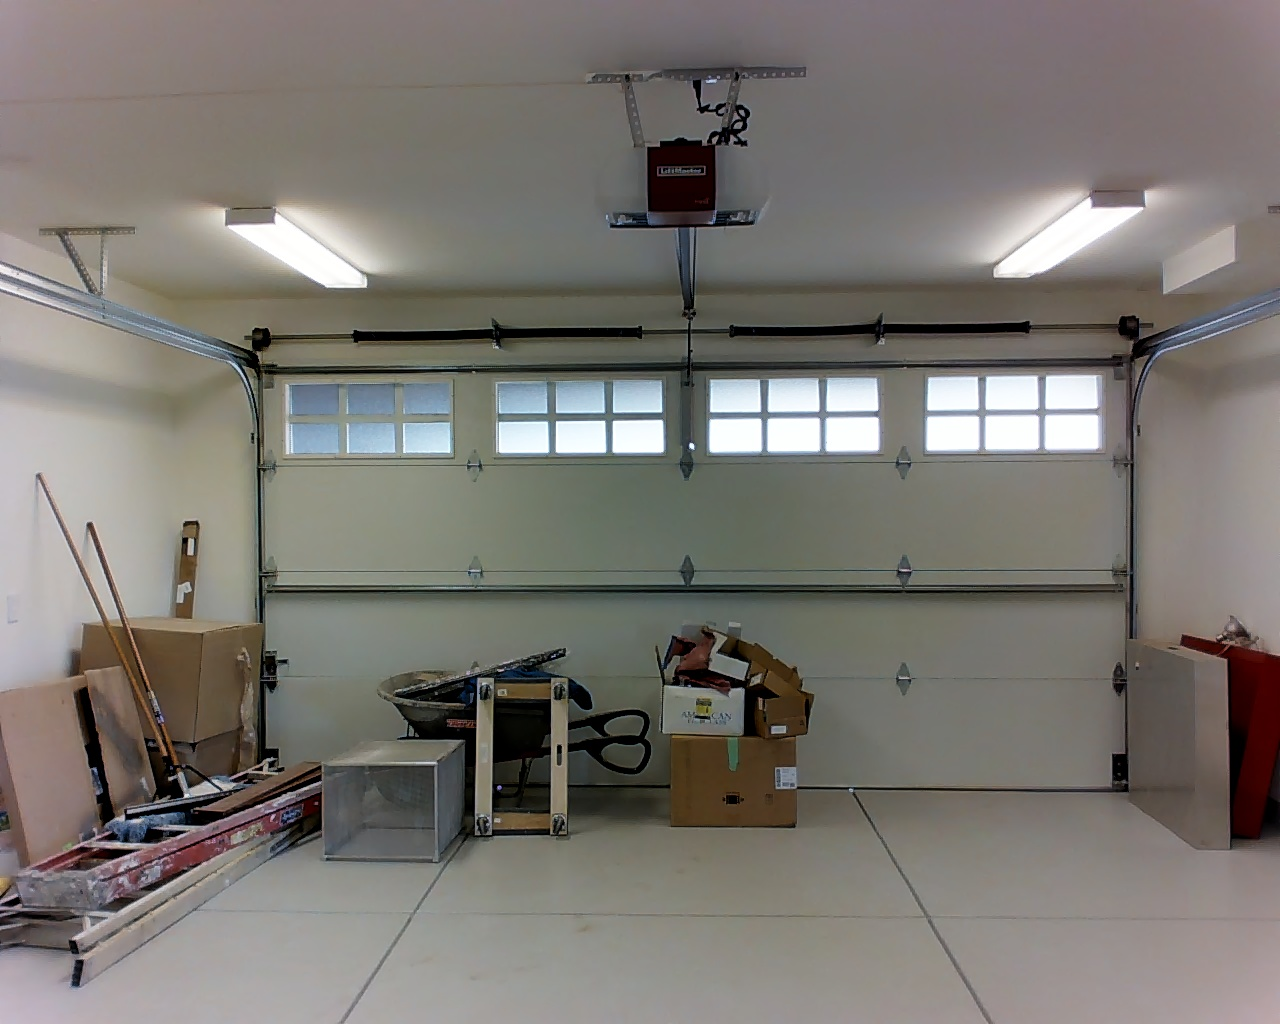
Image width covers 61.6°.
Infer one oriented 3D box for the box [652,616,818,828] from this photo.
[{"bbox_3d":[0.480,1.060,5.590,0.810,0.970,0.660,0,0,2],"label":"box"}]
